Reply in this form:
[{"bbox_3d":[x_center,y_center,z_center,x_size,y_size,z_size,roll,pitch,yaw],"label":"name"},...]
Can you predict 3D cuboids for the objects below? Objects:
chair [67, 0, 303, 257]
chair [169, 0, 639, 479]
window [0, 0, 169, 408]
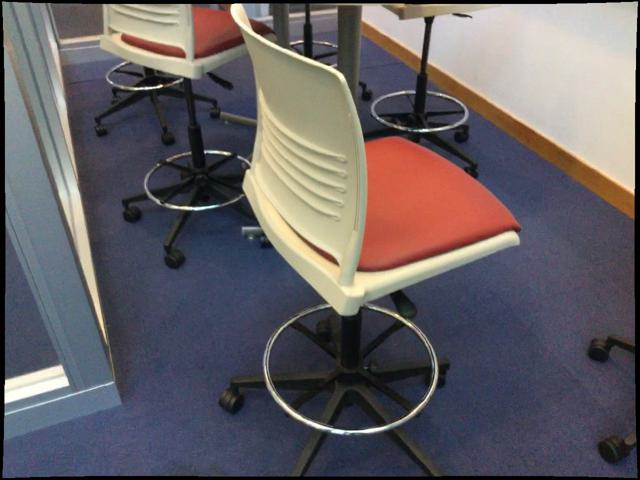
[{"bbox_3d":[-0.460,-0.611,2.150,0.570,1.121,0.530,24,44,27],"label":"chair"},{"bbox_3d":[0.090,0.060,1.330,0.580,1.121,0.650,-14,41,-17],"label":"chair"},{"bbox_3d":[-1.139,-0.991,2.390,0.230,1.451,3.071,-14,41,-17],"label":"window"}]
